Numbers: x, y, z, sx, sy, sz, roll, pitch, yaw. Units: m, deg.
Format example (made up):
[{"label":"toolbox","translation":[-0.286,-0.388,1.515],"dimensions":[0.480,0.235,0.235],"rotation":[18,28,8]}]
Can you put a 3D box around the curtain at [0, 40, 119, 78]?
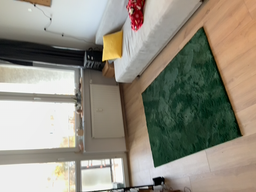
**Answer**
[{"label":"curtain","translation":[-1.340,-0.670,4.030],"dimensions":[0.370,2.310,0.310],"rotation":[128,139,-54]}]

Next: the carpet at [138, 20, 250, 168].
[{"label":"carpet","translation":[0.580,0.120,2.650],"dimensions":[1.650,0.070,1.250],"rotation":[131,137,-56]}]
